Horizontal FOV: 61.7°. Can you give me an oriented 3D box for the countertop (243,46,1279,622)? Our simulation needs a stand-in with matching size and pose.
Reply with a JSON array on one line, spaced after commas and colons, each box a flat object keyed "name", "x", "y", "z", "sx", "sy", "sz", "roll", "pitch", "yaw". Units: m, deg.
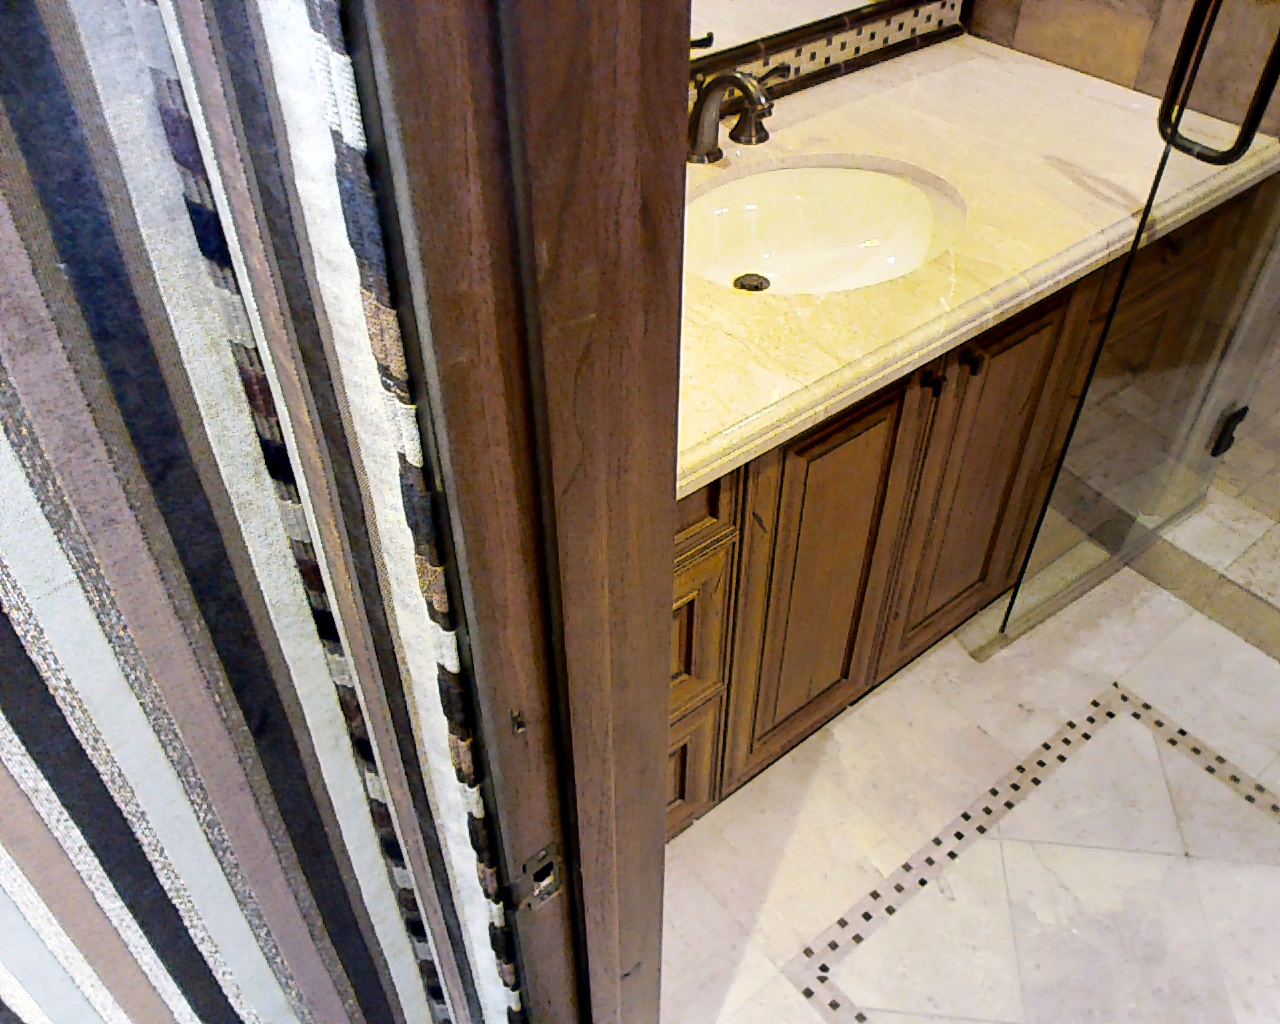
[{"name": "countertop", "x": 0.270, "y": -0.390, "z": 1.530, "sx": 1.470, "sy": 0.050, "sz": 0.640, "roll": -28, "pitch": 49, "yaw": -27}]

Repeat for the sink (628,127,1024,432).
[{"name": "sink", "x": 0.260, "y": -0.360, "z": 1.570, "sx": 0.420, "sy": 0.190, "sz": 0.360, "roll": -28, "pitch": 49, "yaw": -27}]
